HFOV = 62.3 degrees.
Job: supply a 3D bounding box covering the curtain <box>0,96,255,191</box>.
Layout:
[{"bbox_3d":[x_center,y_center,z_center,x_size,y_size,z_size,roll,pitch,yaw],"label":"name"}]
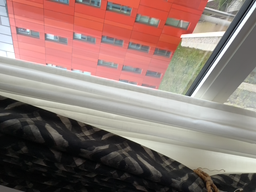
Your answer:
[{"bbox_3d":[0.050,0.350,0.860,0.310,2.500,0.380,-89,13,-48],"label":"curtain"}]
